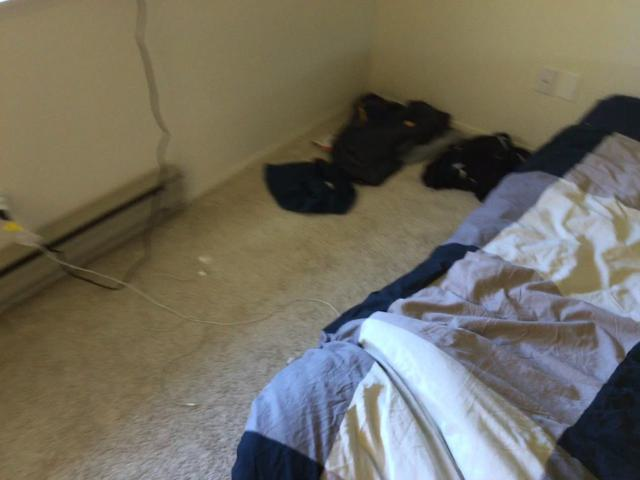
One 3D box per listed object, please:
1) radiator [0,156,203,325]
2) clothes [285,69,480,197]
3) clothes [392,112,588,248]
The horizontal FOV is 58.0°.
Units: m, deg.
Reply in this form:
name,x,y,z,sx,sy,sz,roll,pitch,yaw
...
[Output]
name,x,y,z,sx,sy,sz,roll,pitch,yaw
radiator,-0.990,0.160,1.650,0.100,0.200,1.630,27,44,29
clothes,0.280,-0.510,2.580,0.600,0.190,0.640,27,43,29
clothes,0.700,-0.280,2.360,0.540,0.140,0.630,27,43,29
